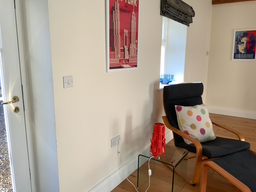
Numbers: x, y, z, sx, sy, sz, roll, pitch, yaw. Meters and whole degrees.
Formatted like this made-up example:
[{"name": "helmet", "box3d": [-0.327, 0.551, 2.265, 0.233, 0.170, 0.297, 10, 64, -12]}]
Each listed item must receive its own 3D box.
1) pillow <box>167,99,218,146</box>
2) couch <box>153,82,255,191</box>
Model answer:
[{"name": "pillow", "box3d": [0.780, 0.320, 2.550, 0.510, 0.430, 0.200, 18, -10, -23]}, {"name": "couch", "box3d": [0.920, 0.440, 2.300, 0.660, 0.990, 1.410, -4, 12, -22]}]
